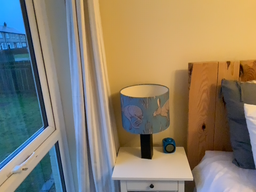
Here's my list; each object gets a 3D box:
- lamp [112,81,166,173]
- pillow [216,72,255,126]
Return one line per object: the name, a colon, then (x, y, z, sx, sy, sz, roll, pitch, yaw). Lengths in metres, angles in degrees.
lamp: (0.080, 0.180, 1.350, 0.280, 0.480, 0.320, -3, 16, 5)
pillow: (0.840, 0.000, 1.210, 0.560, 0.130, 0.270, -5, 52, 5)
